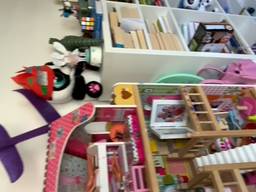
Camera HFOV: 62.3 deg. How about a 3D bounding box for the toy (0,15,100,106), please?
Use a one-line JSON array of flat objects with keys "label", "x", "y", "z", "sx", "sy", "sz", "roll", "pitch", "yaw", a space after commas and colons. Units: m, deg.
[{"label": "toy", "x": -0.340, "y": -0.140, "z": 0.990, "sx": 0.360, "sy": 0.370, "sz": 0.210, "roll": 109, "pitch": 157, "yaw": -52}]
